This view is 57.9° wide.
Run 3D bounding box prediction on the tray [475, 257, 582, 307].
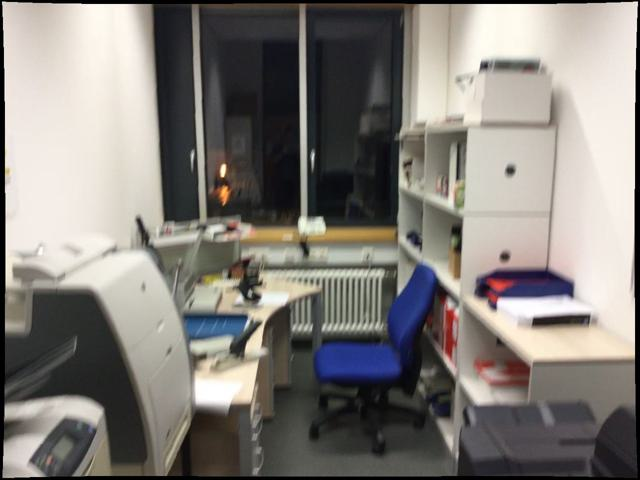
[{"bbox_3d":[0.909,0.180,2.550,0.360,0.150,0.260,0,12,-5],"label":"tray"}]
